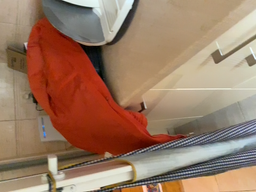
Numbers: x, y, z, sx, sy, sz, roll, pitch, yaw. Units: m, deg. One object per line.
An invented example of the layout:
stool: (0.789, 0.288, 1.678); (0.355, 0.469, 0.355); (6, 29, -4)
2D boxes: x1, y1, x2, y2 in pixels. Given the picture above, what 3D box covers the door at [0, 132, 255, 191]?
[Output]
door: (-0.320, 0.300, 0.820); (0.920, 1.990, 0.120); (-15, 78, 58)
